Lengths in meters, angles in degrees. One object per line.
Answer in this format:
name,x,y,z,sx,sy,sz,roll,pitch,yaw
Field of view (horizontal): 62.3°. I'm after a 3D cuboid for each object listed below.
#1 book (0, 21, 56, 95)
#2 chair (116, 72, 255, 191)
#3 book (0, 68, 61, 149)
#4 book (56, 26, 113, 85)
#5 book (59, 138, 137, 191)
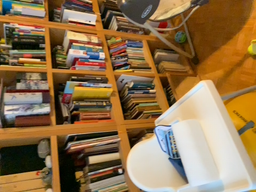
book,-0.700,-0.240,1.460,0.360,0.320,0.320,-55,43,49
chair,0.480,0.230,1.080,0.560,0.870,0.420,-51,46,51
book,-0.620,0.080,1.280,0.350,0.340,0.340,-53,45,50
book,-0.340,-0.290,1.590,0.250,0.330,0.330,-53,45,50
book,-0.190,0.470,1.240,0.270,0.350,0.340,-52,46,51
